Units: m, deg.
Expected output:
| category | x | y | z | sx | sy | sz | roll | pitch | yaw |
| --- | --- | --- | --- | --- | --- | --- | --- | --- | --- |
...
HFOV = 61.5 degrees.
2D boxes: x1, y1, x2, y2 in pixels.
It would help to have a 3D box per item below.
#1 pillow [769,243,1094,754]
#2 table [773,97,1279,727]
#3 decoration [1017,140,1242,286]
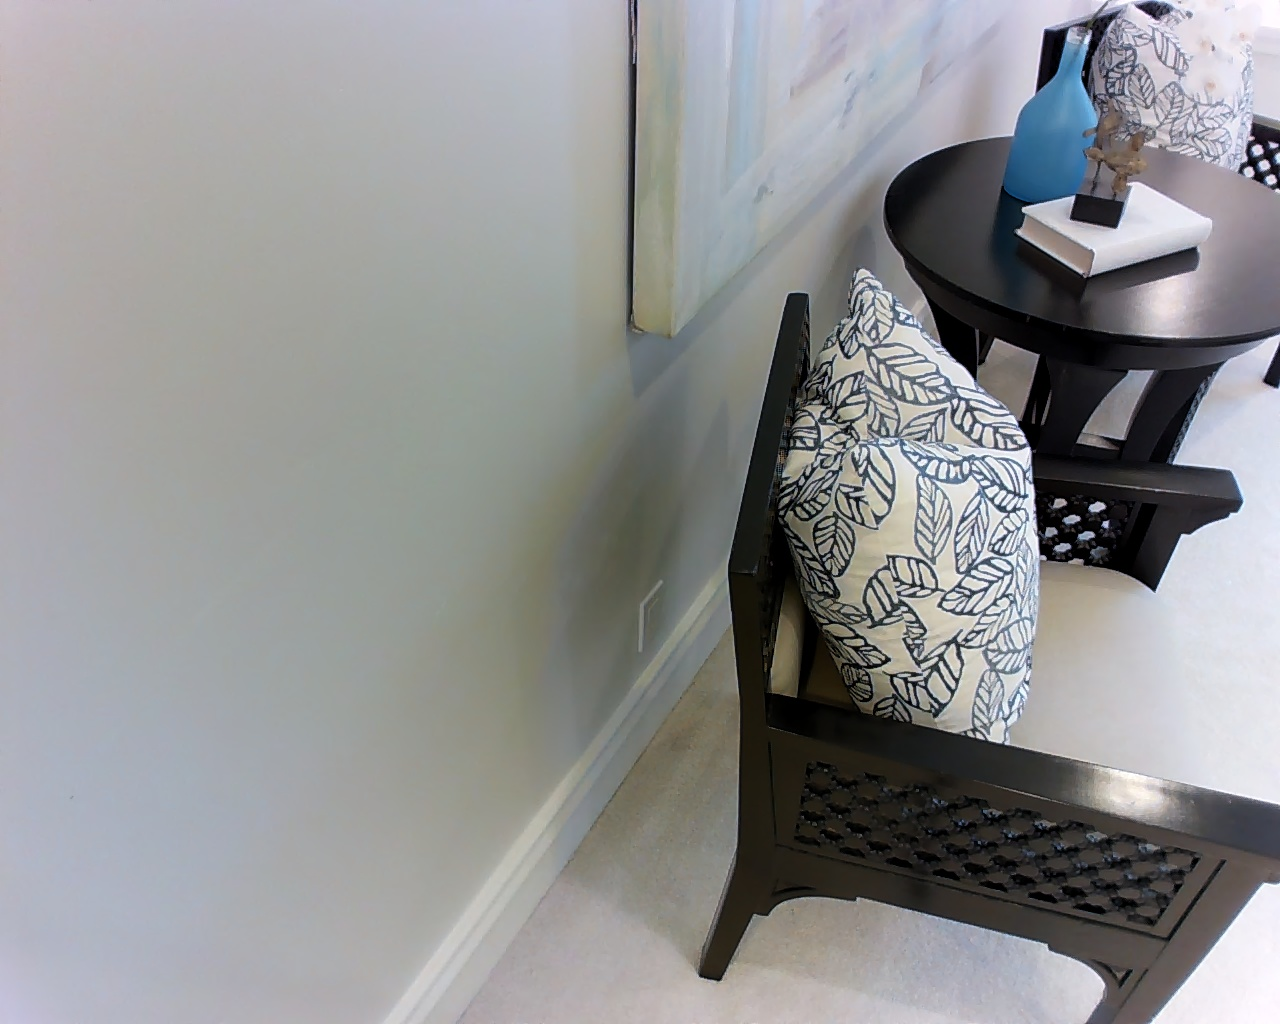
| category | x | y | z | sx | sy | sz | roll | pitch | yaw |
| --- | --- | --- | --- | --- | --- | --- | --- | --- | --- |
| pillow | 0.360 | -0.010 | 1.410 | 0.320 | 0.480 | 0.450 | 4 | 55 | 12 |
| table | 0.820 | -0.240 | 2.160 | 0.790 | 0.780 | 0.770 | 21 | 46 | 22 |
| decoration | 0.820 | -0.510 | 1.820 | 0.260 | 0.120 | 0.200 | -17 | 45 | -18 |
